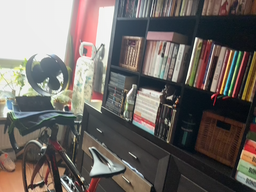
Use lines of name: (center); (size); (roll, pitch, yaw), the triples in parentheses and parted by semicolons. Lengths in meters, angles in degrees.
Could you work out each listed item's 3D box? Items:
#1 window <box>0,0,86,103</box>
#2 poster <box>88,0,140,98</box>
window: (-1.140, -0.710, 2.500); (1.240, 1.610, 0.070); (0, 15, -37)
poster: (-0.190, -0.510, 2.270); (0.060, 0.920, 0.640); (-1, 16, -41)
